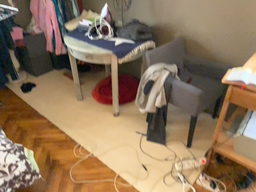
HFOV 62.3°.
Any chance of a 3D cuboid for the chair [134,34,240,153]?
[{"bbox_3d":[0.530,-0.070,2.060,0.650,0.780,0.650,26,41,32],"label":"chair"}]
